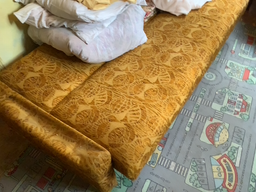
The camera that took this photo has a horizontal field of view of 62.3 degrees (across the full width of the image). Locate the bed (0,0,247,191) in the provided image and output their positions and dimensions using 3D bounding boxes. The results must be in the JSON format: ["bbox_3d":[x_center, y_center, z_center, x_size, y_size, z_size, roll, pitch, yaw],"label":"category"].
[{"bbox_3d":[0.090,-0.460,1.810,1.230,0.420,2.210,26,56,20],"label":"bed"}]
